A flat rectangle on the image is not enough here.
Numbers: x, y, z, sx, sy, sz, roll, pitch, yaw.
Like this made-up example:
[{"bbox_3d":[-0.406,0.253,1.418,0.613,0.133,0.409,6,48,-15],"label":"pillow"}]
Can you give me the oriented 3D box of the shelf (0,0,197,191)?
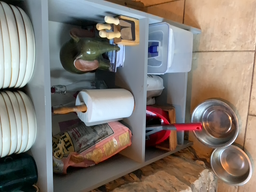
[{"bbox_3d":[-0.520,0.030,0.620,0.370,2.170,0.740,9,100,45],"label":"shelf"}]
